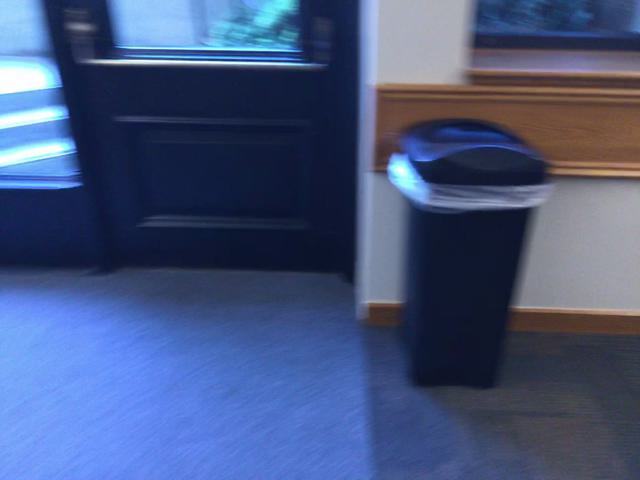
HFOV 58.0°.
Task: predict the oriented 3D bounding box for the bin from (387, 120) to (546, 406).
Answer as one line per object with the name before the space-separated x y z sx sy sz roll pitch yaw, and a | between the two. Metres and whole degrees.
bin | 0.420 0.070 1.840 0.380 0.830 0.360 0 22 4
